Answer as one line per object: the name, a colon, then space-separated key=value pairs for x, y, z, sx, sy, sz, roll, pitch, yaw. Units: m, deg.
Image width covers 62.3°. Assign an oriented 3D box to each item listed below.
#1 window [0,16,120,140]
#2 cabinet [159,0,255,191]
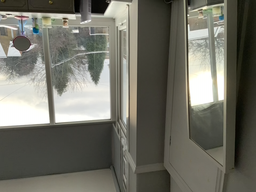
window: x=-1.400 y=-0.210 z=2.590 sx=2.580 sy=1.410 sz=0.340 roll=-3 pitch=-166 yaw=-13
cabinet: x=0.560 y=-0.300 z=1.330 sx=0.390 sy=2.070 sz=0.780 roll=-3 pitch=-166 yaw=-13
